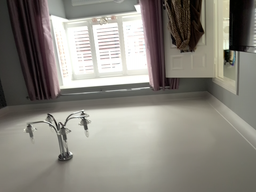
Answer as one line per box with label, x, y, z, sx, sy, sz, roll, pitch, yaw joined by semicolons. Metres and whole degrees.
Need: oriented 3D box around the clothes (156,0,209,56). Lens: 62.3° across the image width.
clothes;0.670;-1.240;2.630;0.610;1.420;0.290;-1;-166;17
